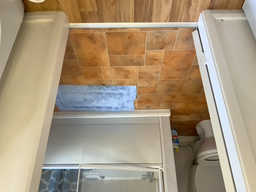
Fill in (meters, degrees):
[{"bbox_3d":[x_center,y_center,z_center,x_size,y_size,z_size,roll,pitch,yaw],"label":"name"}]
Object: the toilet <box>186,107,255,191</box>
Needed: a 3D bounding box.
[{"bbox_3d":[0.930,0.650,2.260,0.390,0.870,0.630,-1,151,2],"label":"toilet"}]
